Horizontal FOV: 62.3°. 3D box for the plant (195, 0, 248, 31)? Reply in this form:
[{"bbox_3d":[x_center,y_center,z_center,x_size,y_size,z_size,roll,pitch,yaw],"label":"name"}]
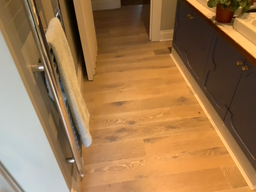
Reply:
[{"bbox_3d":[0.610,-0.600,1.400,0.200,0.240,0.230,-7,41,-8],"label":"plant"}]
